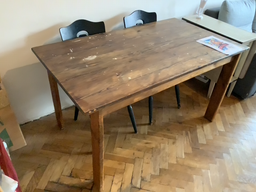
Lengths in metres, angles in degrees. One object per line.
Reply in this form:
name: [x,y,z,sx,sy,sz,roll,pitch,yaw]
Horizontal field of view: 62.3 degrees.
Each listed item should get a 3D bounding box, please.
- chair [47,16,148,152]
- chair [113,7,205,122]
chair: [-0.260,-0.120,1.770,0.470,0.840,0.630,-21,44,-29]
chair: [0.230,-0.320,2.070,0.470,0.840,0.630,-21,44,-29]
